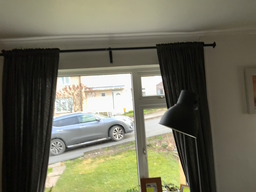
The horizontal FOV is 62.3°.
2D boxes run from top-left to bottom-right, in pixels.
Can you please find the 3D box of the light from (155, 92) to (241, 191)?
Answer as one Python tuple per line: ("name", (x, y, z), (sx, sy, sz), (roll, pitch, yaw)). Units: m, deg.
("light", (0.580, 0.870, 1.850), (0.540, 1.750, 0.580), (-3, -2, 3))
